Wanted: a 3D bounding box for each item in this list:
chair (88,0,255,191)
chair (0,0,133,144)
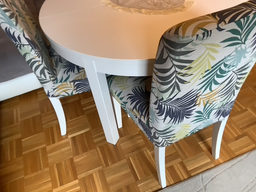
[{"bbox_3d":[0.210,-0.040,1.040,0.500,0.980,0.540,-23,49,-15],"label":"chair"},{"bbox_3d":[-0.340,-0.250,1.290,0.540,0.970,0.480,-20,49,-12],"label":"chair"}]
